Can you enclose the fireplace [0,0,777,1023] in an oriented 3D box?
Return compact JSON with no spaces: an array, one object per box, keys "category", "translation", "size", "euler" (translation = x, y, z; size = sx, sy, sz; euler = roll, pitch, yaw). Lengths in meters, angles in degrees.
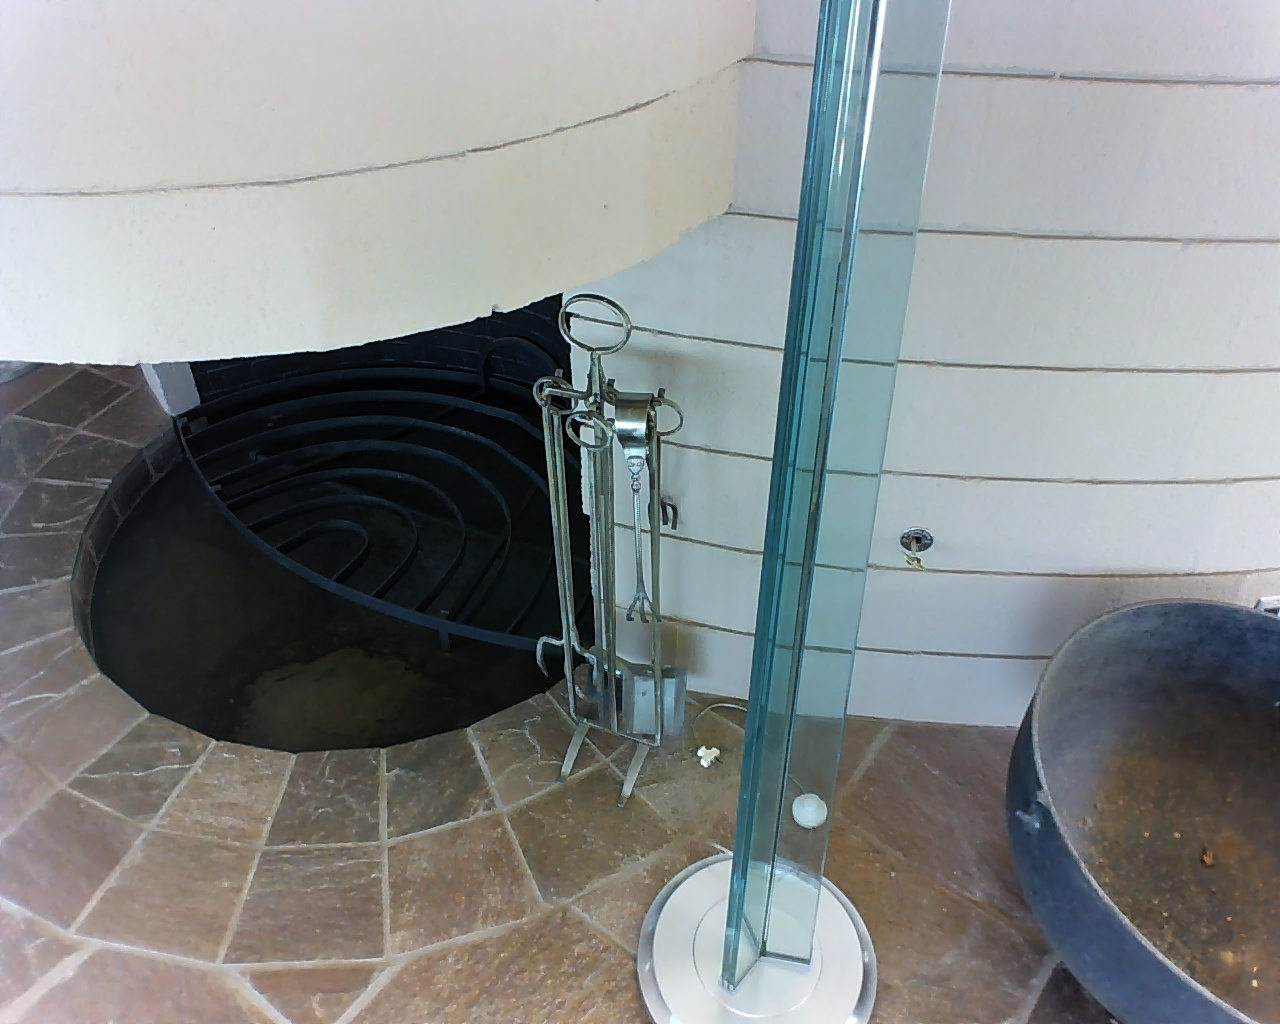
[{"category":"fireplace","translation":[-0.880,-0.130,1.940],"size":[1.900,1.140,1.010],"euler":[28,48,28]}]
